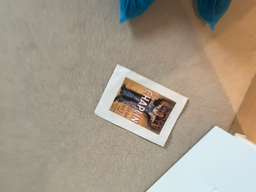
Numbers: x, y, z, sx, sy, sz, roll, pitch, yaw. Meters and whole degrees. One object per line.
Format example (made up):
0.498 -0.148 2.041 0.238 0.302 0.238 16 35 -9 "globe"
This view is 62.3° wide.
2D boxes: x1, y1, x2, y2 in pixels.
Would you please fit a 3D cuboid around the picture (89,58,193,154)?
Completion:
0.050 0.040 0.810 0.320 0.040 0.220 35 95 -6 "picture"
